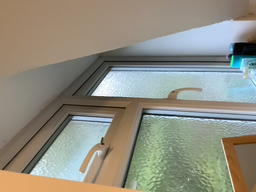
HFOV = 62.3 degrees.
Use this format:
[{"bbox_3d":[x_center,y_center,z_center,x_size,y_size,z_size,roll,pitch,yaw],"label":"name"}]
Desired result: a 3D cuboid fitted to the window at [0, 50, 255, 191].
[{"bbox_3d":[0.150,0.020,0.850,1.150,0.950,0.070,-67,-24,-59],"label":"window"}]
